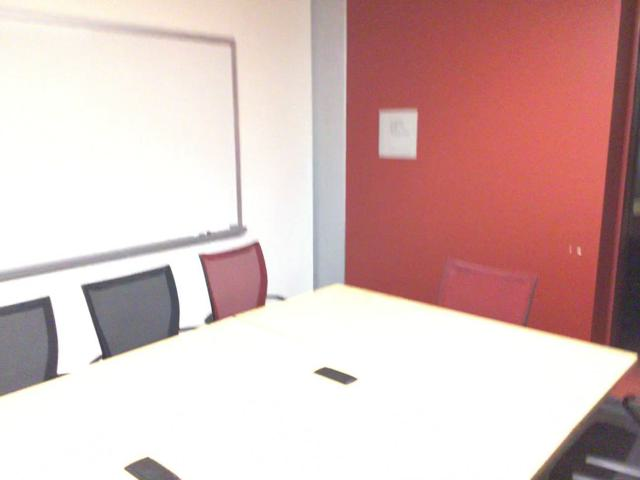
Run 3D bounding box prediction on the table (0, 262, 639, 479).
[{"bbox_3d":[-0.090,0.800,1.950,1.560,0.820,2.350,11,16,42],"label":"table"}]
